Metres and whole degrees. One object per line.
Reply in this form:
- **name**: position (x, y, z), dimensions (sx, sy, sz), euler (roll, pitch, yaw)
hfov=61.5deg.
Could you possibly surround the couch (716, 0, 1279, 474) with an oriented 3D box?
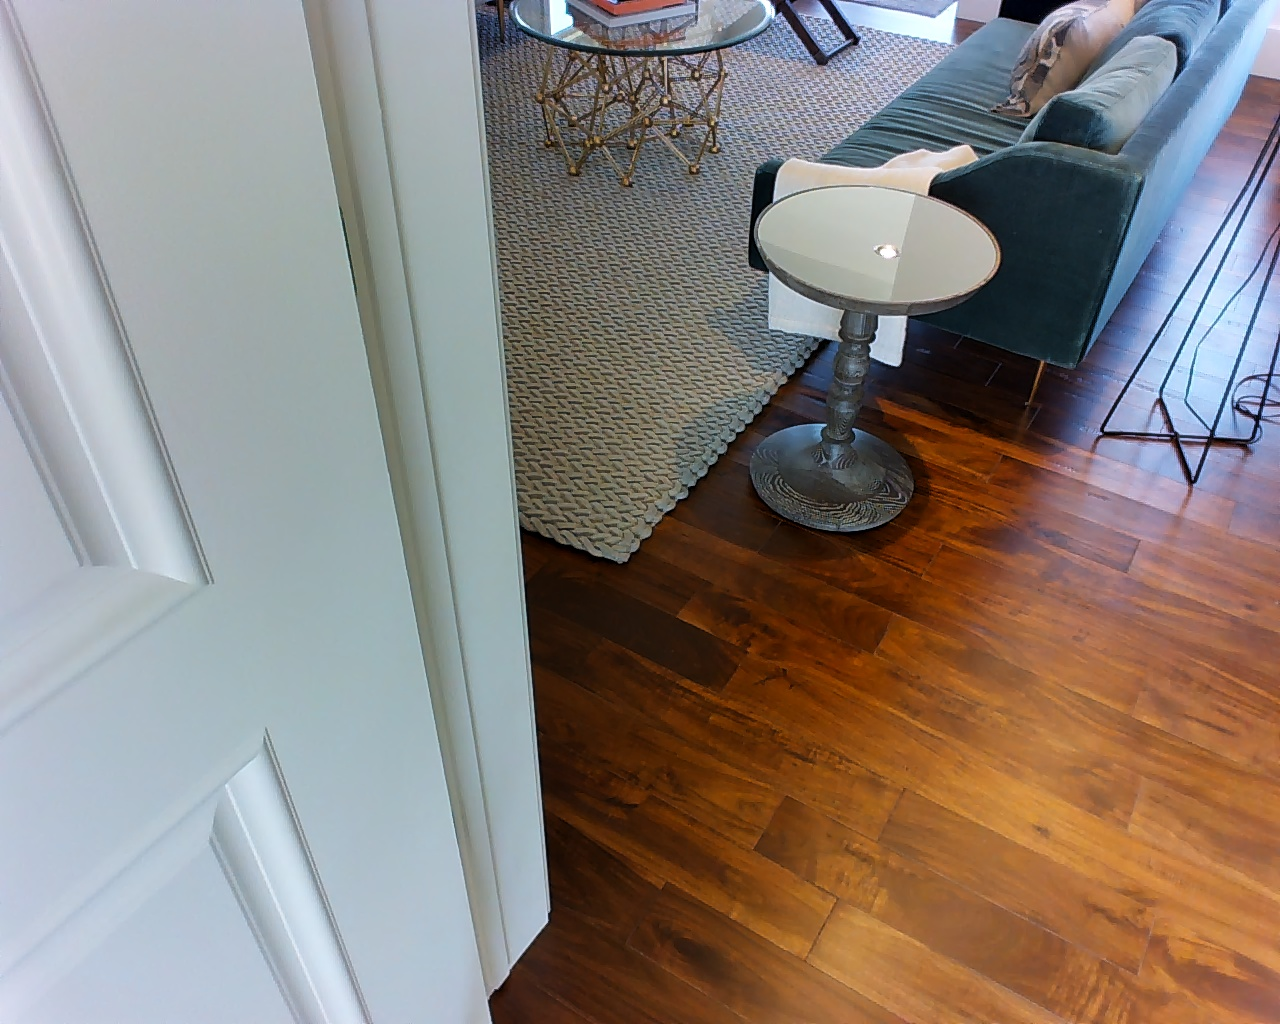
- **couch**: position (1.100, -1.070, 2.940), dimensions (0.890, 0.740, 1.960), euler (24, 47, 23)
